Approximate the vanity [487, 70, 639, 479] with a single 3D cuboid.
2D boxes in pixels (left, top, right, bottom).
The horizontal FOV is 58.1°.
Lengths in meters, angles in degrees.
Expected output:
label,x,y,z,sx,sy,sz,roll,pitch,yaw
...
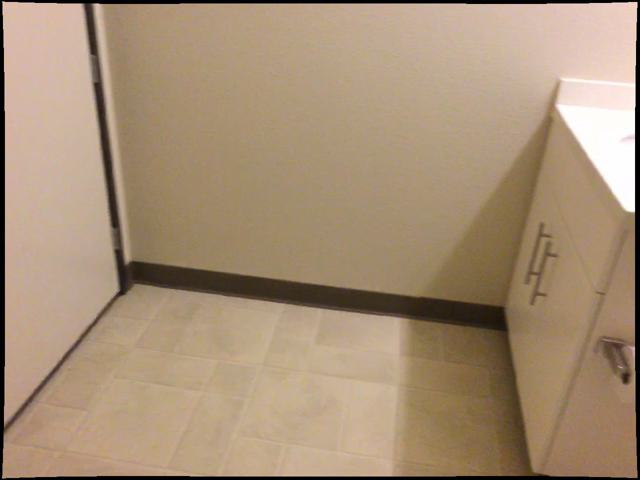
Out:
label,x,y,z,sx,sy,sz,roll,pitch,yaw
vanity,0.898,0.130,1.610,0.579,0.972,0.810,7,29,6
